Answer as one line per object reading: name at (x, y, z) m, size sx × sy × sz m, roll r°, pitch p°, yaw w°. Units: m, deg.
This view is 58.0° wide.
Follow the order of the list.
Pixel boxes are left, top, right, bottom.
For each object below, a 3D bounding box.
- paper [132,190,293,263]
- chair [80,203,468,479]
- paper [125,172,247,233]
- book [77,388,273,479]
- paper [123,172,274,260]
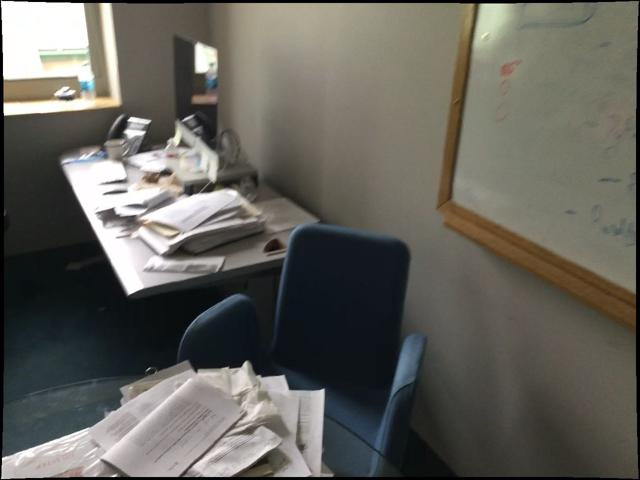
paper at (-0.369, -0.060, 2.010) m, size 0.489 × 0.080 × 0.250 m, roll -14°, pitch 28°, yaw -29°
chair at (-0.040, 0.441, 1.530) m, size 0.699 × 0.812 × 0.710 m, roll 8°, pitch 25°, yaw 17°
paper at (-0.469, -0.140, 2.010) m, size 0.329 × 0.070 × 0.300 m, roll -14°, pitch 28°, yaw -28°
book at (-0.229, 0.361, 0.950) m, size 0.190 × 0.040 × 0.250 m, roll 15°, pitch 28°, yaw 29°
paper at (-0.429, -0.100, 2.020) m, size 0.409 × 0.120 × 0.370 m, roll -14°, pitch 28°, yaw -28°
